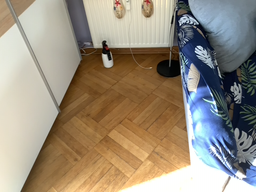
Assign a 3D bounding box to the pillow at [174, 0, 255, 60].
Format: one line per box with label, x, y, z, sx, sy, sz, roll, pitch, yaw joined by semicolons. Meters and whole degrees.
pillow;0.690;-0.610;1.490;0.500;0.240;0.760;16;49;20
